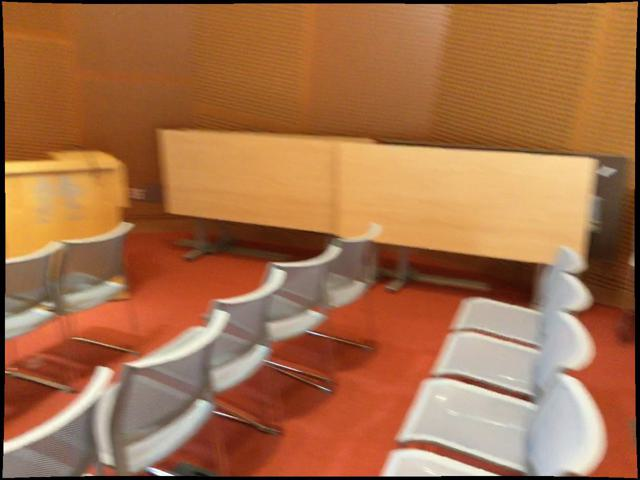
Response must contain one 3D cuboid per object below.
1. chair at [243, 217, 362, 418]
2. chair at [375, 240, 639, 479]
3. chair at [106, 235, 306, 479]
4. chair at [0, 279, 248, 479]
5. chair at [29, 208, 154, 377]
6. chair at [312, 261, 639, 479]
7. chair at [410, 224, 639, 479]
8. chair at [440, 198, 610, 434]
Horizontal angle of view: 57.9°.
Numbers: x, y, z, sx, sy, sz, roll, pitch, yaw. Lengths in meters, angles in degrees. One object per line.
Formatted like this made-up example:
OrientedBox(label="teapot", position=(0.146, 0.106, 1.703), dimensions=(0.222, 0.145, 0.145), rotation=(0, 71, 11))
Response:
OrientedBox(label="chair", position=(-0.060, 0.330, 2.820), dimensions=(0.280, 0.721, 0.720), rotation=(7, 17, 22))
OrientedBox(label="chair", position=(0.629, 0.541, 1.960), dimensions=(0.719, 0.891, 0.560), rotation=(8, 17, 23))
OrientedBox(label="chair", position=(-0.440, 0.440, 2.470), dimensions=(0.540, 0.731, 0.640), rotation=(7, 17, 22))
OrientedBox(label="chair", position=(-0.649, 0.601, 1.980), dimensions=(0.589, 0.721, 0.580), rotation=(6, 17, 19))
OrientedBox(label="chair", position=(-1.169, 0.250, 3.030), dimensions=(0.240, 0.731, 0.510), rotation=(10, 18, 29))
OrientedBox(label="chair", position=(0.450, 0.541, 1.530), dimensions=(0.729, 0.711, 0.710), rotation=(7, 17, 20))
OrientedBox(label="chair", position=(0.839, 0.450, 2.400), dimensions=(0.719, 0.821, 0.730), rotation=(7, 17, 22))
OrientedBox(label="chair", position=(0.949, 0.320, 2.770), dimensions=(0.609, 0.911, 0.540), rotation=(6, 17, 18))
